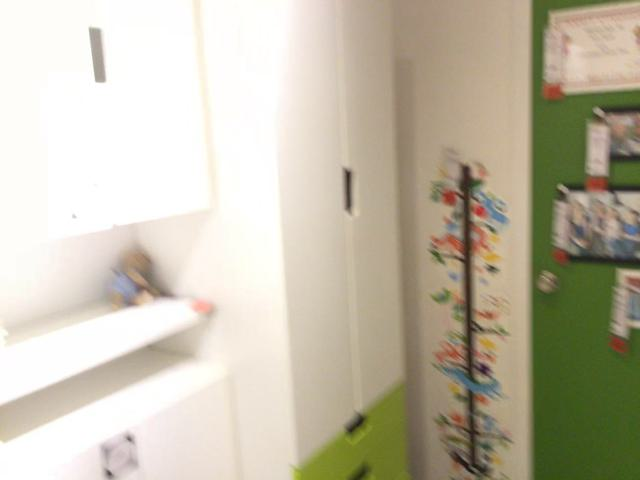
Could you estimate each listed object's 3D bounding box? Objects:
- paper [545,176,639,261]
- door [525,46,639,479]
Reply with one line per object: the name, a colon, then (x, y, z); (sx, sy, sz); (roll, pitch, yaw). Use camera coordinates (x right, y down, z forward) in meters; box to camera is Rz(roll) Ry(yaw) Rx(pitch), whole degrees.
paper: (0.870, -0.070, 1.770); (0.330, 0.250, 0.040); (4, 11, 36)
door: (1.010, 0.280, 1.730); (0.740, 1.670, 0.060); (4, 11, 36)
